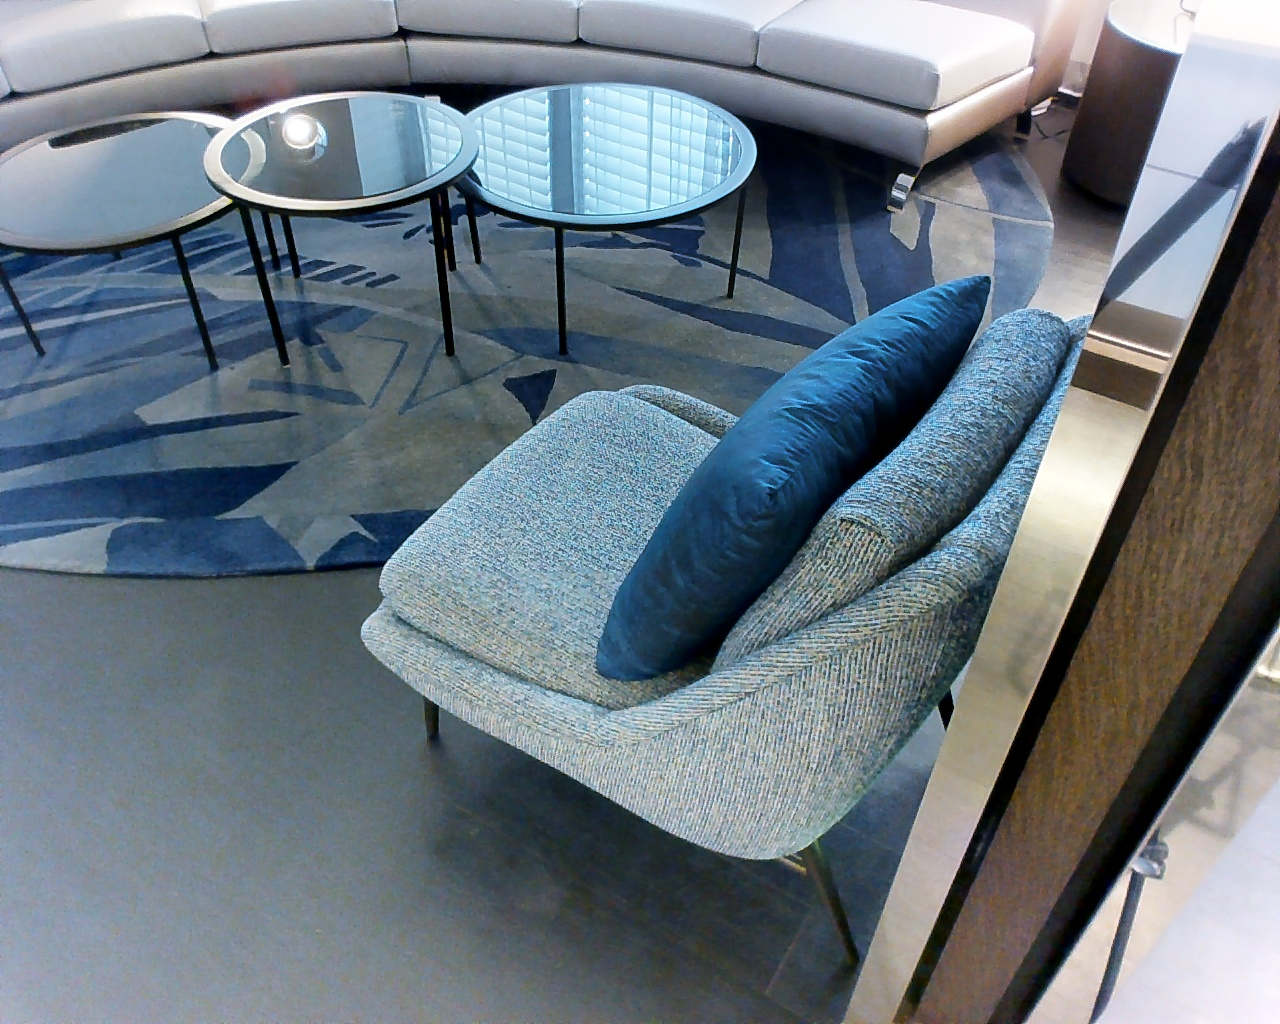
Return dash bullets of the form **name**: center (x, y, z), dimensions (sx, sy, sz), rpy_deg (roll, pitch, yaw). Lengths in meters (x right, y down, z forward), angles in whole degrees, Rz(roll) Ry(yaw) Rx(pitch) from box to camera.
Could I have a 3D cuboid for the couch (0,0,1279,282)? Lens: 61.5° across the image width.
- **couch**: center (-0.630, -1.540, 3.380), dimensions (4.360, 0.760, 1.690), rpy_deg (-3, 43, -4)
